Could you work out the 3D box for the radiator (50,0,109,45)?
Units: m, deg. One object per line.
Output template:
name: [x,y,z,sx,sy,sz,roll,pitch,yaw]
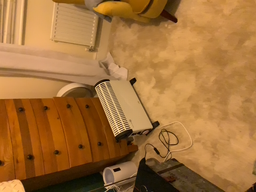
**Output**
radiator: [-0.450,-0.730,1.990,0.120,0.480,0.420,30,113,45]
